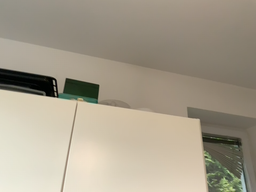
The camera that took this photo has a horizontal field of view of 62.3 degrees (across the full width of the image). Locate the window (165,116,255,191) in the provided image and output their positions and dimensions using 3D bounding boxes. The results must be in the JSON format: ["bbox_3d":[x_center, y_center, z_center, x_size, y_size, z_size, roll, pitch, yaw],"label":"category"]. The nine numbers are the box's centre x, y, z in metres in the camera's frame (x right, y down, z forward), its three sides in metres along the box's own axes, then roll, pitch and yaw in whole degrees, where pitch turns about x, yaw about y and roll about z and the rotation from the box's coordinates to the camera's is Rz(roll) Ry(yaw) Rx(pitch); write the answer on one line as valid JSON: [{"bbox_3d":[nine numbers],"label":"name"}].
[{"bbox_3d":[0.800,0.900,1.860,0.900,1.360,0.160,10,-27,-14],"label":"window"}]
